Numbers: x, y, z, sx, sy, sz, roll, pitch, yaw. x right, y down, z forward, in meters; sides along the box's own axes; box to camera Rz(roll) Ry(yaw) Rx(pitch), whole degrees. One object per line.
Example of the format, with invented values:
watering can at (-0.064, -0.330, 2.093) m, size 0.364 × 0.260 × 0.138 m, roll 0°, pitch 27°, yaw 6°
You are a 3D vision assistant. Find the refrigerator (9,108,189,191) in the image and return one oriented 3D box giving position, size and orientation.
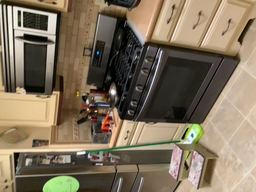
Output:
refrigerator at (-0.370, 0.810, 2.630) m, size 0.860 × 1.790 × 0.900 m, roll -113°, pitch 33°, yaw -50°

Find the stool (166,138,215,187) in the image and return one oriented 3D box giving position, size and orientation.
stool at (0.610, 0.650, 2.130) m, size 0.320 × 0.280 × 0.340 m, roll -146°, pitch 63°, yaw -67°
